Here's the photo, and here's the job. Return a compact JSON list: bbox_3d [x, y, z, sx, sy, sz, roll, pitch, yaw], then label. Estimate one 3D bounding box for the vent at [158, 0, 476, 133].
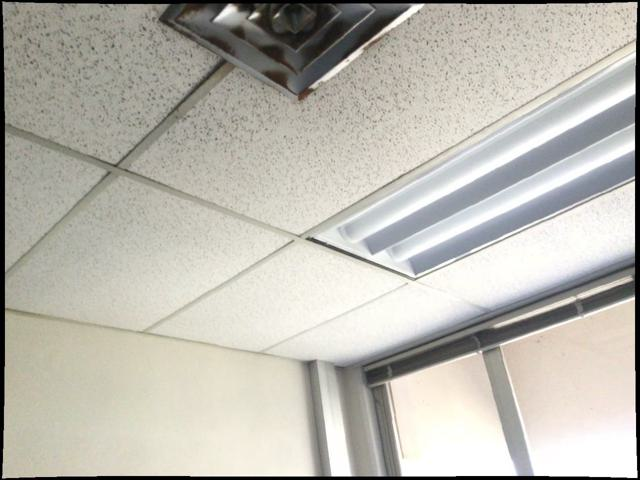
[{"bbox_3d":[-0.010,-0.401,1.030,0.440,0.060,0.360,-30,-36,34],"label":"vent"}]
